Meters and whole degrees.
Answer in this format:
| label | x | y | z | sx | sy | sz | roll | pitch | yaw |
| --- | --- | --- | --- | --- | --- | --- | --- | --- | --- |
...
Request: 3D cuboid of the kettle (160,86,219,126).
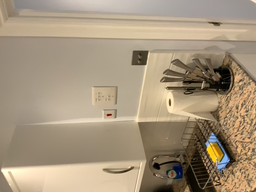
| label | x | y | z | sx | sy | sz | roll | pitch | yaw |
| --- | --- | --- | --- | --- | --- | --- | --- | --- | --- |
| kettle | 0.360 | 0.060 | 1.290 | 0.150 | 0.270 | 0.190 | -101 | 13 | -47 |
